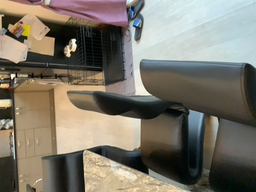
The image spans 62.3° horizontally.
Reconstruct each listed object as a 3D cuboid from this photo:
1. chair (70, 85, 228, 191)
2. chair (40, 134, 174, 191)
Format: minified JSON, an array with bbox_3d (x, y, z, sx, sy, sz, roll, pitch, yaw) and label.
[{"bbox_3d":[0.180,0.260,1.410,0.420,1.000,0.650,6,97,54],"label":"chair"},{"bbox_3d":[-0.180,0.680,1.930,0.630,1.010,0.460,-3,89,55],"label":"chair"}]
